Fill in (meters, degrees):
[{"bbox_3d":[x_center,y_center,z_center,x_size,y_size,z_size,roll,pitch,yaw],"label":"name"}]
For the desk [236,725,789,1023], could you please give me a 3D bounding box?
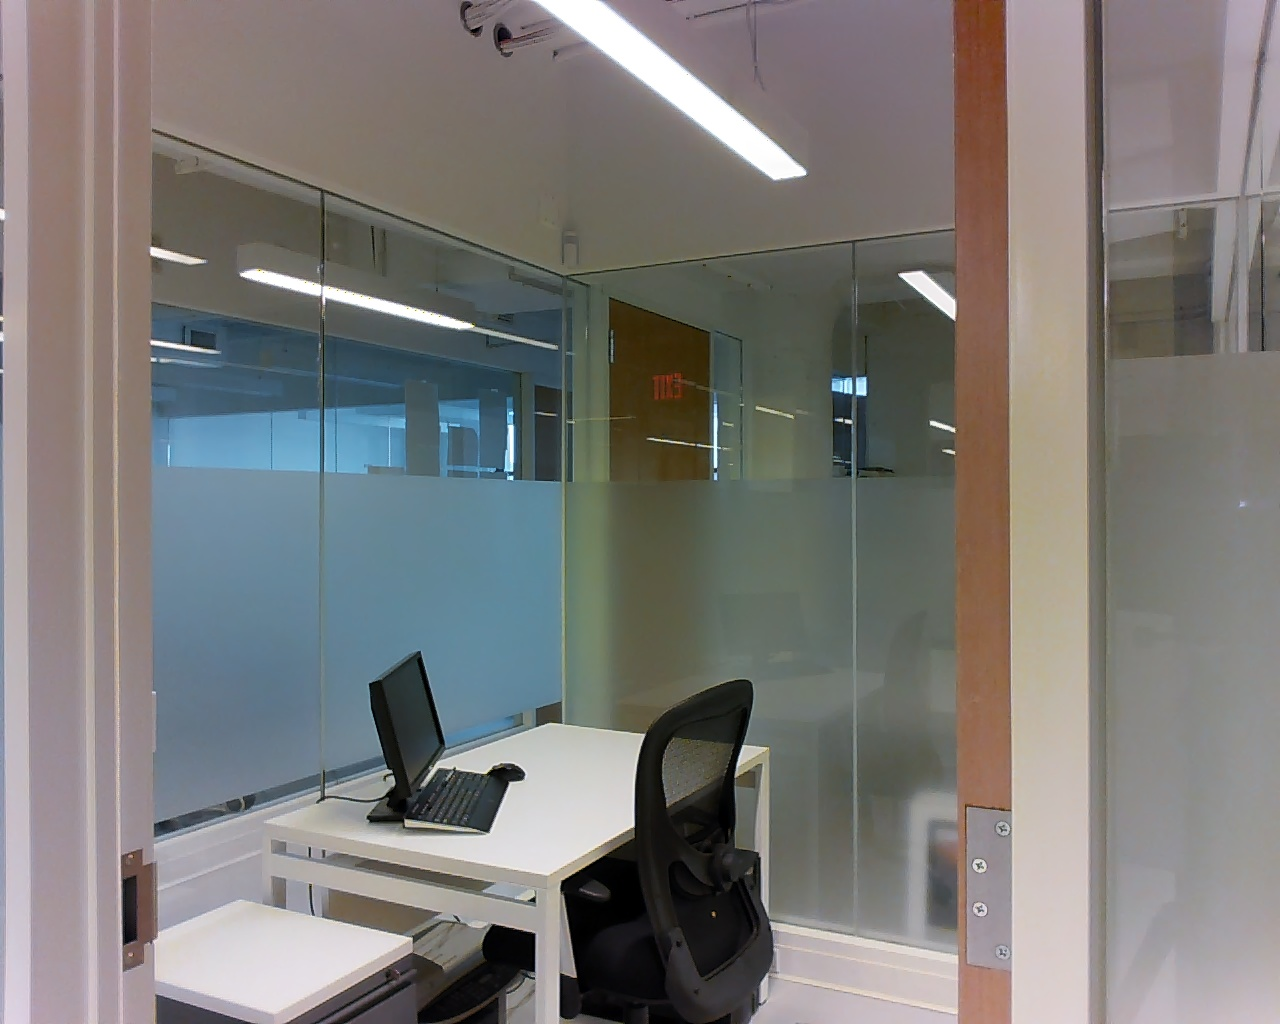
[{"bbox_3d":[-0.240,1.060,2.790,0.880,0.720,1.250,-1,0,27],"label":"desk"}]
